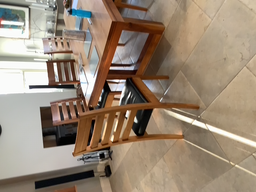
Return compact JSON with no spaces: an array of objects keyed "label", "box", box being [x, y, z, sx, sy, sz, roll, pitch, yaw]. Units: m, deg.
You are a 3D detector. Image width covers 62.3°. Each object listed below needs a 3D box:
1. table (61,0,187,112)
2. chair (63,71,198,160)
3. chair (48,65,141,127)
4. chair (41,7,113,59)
[{"label":"table","box":[-0.300,-1.010,2.910,1.230,0.780,2.080,-63,39,43]},{"label":"chair","box":[-0.010,0.120,2.070,0.660,1.070,0.470,51,135,49]},{"label":"chair","box":[-0.490,-0.010,2.980,0.470,1.100,0.640,62,143,40]},{"label":"chair","box":[-0.920,-1.080,3.750,0.620,1.100,0.460,-63,39,43]}]
